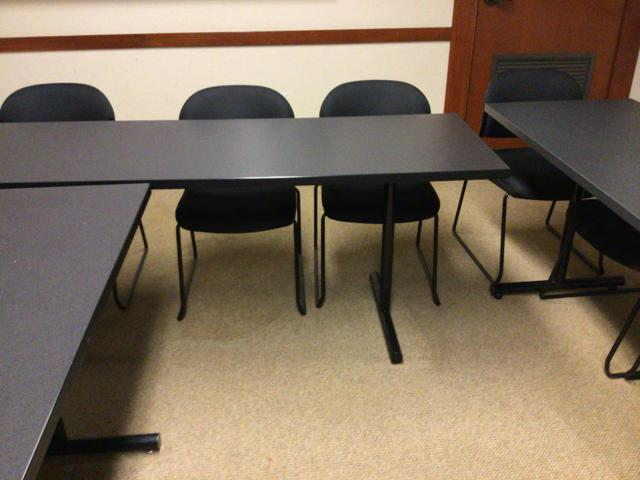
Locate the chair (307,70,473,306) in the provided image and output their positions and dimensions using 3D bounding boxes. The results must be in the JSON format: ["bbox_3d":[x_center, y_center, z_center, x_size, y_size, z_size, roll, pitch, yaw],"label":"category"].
[{"bbox_3d":[0.260,-0.220,2.310,0.540,0.770,0.550,-2,27,3],"label":"chair"}]

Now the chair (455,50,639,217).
[{"bbox_3d":[0.920,-0.460,2.300,0.530,0.460,0.570,16,33,34],"label":"chair"}]

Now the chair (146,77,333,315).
[{"bbox_3d":[-0.260,-0.190,2.290,0.570,0.750,0.560,-3,27,1],"label":"chair"}]

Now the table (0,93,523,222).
[{"bbox_3d":[-0.340,-0.290,1.890,1.770,0.120,0.680,-3,27,1],"label":"table"}]
